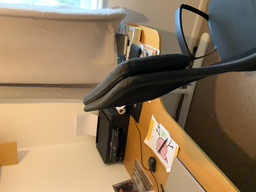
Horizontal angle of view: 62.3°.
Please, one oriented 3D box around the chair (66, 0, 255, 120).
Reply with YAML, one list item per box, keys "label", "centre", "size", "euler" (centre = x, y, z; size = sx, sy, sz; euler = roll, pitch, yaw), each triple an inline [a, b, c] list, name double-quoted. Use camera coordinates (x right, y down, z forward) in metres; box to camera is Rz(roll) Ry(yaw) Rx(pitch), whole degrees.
- label: "chair"
  centre: [0.440, -0.340, 0.890]
  size: [0.640, 1.250, 0.720]
  euler: [153, 113, -63]
